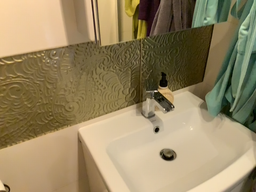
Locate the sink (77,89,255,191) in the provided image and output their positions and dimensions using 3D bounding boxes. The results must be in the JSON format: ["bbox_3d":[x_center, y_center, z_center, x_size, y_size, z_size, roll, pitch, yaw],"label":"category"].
[{"bbox_3d":[0.160,0.190,0.770,0.550,0.110,0.440,-17,36,-25],"label":"sink"}]
